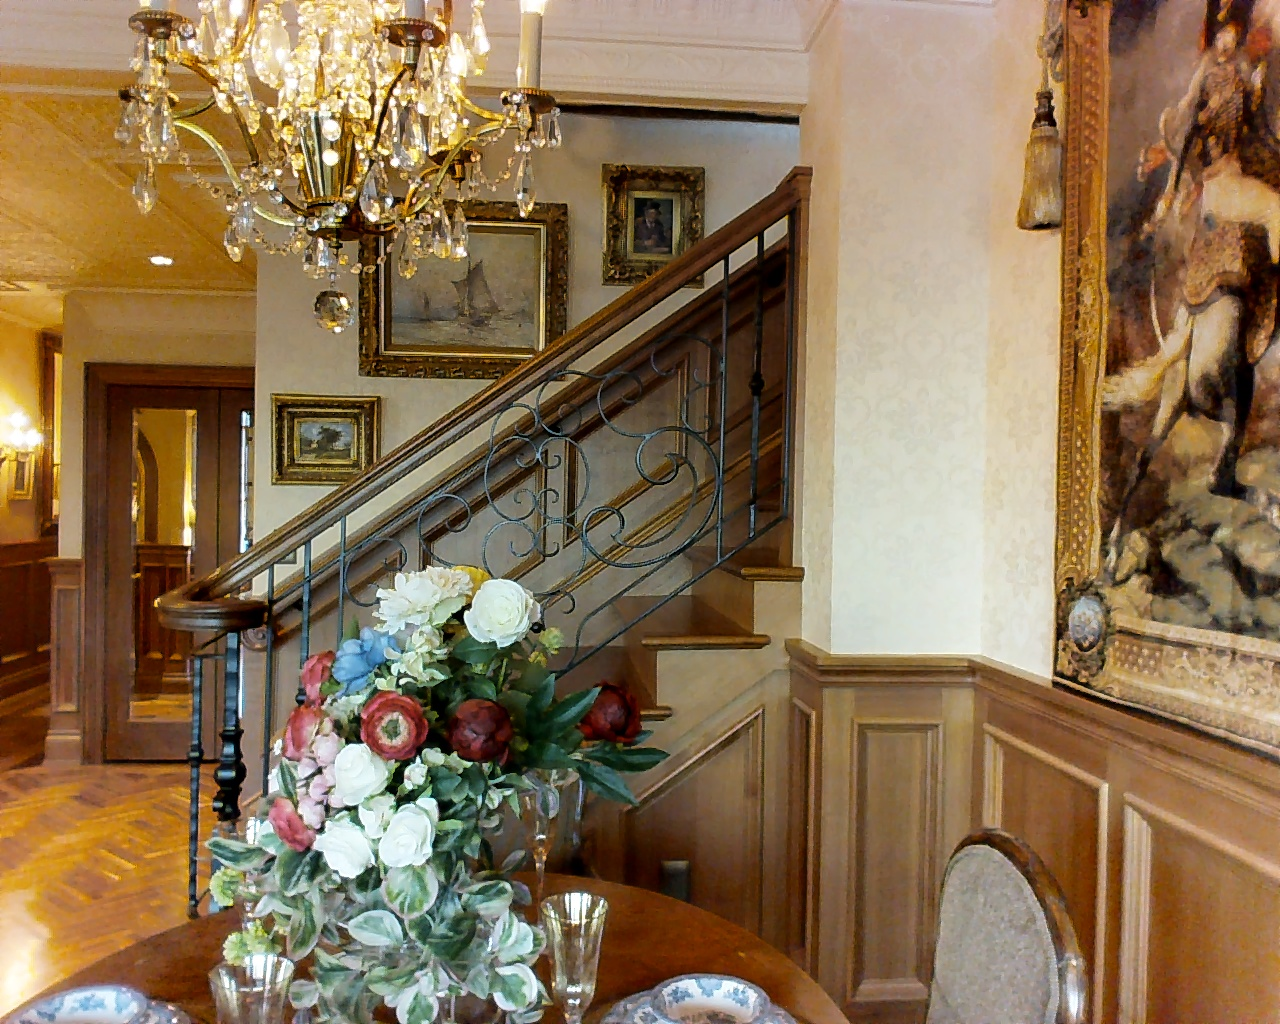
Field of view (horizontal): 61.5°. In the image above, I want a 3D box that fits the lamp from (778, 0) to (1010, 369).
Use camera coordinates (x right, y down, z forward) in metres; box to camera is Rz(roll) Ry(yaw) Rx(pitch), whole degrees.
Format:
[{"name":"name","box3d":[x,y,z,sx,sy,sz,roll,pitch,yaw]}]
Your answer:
[{"name":"lamp","box3d":[0.570,-0.970,2.550,0.300,1.160,0.730,1,0,-6]}]
